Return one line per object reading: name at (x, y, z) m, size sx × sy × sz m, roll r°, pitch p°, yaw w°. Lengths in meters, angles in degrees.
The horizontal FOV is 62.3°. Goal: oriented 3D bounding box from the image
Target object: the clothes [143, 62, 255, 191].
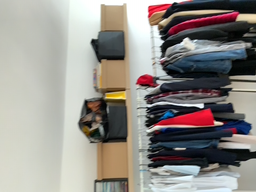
clothes at (0.790, 0.380, 2.060) m, size 0.700 × 1.200 × 1.210 m, roll 86°, pitch -178°, yaw -76°
